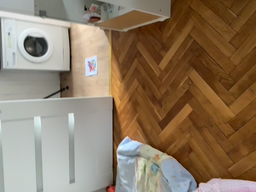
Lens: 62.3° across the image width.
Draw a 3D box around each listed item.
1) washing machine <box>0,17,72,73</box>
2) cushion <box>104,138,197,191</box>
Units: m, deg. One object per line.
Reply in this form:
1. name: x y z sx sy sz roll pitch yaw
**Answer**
1. washing machine: -1.280 -0.640 2.900 0.500 0.860 0.580 0 92 53
2. cushion: 0.120 0.780 1.740 0.910 0.180 0.680 3 94 53
